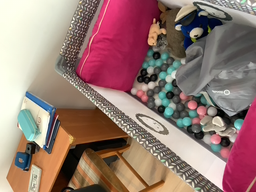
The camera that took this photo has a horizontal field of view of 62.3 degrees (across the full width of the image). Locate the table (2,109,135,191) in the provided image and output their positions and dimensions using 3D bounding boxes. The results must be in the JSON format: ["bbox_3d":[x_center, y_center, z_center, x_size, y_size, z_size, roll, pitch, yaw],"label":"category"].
[{"bbox_3d":[-0.440,0.480,1.690,0.490,0.730,0.570,35,106,31],"label":"table"}]
